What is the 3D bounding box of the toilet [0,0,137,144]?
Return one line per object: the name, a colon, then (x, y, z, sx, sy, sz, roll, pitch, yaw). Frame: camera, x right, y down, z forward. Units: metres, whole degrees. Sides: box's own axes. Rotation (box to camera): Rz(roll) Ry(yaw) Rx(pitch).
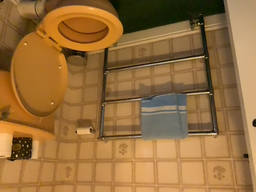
toilet: (-0.360, -0.270, 1.160, 0.680, 0.970, 0.540, -6, 160, 18)
